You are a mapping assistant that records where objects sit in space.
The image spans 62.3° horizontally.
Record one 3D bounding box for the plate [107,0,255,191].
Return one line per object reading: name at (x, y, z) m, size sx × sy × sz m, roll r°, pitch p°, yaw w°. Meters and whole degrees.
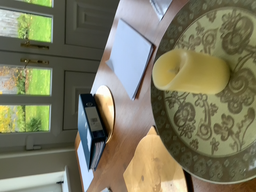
plate at (0.140, -0.050, 0.460) m, size 0.380 × 0.160 × 0.420 m, roll -64°, pitch 37°, yaw 37°
